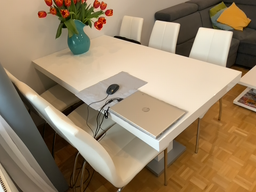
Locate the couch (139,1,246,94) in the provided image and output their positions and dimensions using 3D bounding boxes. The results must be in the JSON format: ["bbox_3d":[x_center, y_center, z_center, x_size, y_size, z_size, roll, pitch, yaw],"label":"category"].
[{"bbox_3d":[0.850,-0.750,2.980,0.930,0.840,0.980,-31,41,-32],"label":"couch"}]

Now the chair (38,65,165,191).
[{"bbox_3d":[-0.090,0.360,1.410,0.390,0.900,0.580,25,45,38],"label":"chair"}]
